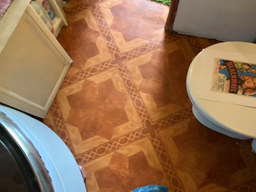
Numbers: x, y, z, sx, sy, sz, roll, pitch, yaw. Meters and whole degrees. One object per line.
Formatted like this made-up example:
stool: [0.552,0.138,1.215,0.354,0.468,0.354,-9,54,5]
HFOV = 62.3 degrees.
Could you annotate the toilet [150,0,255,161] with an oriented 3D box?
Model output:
toilet: [0.500,-0.030,0.840,0.680,0.740,0.410,21,77,8]
